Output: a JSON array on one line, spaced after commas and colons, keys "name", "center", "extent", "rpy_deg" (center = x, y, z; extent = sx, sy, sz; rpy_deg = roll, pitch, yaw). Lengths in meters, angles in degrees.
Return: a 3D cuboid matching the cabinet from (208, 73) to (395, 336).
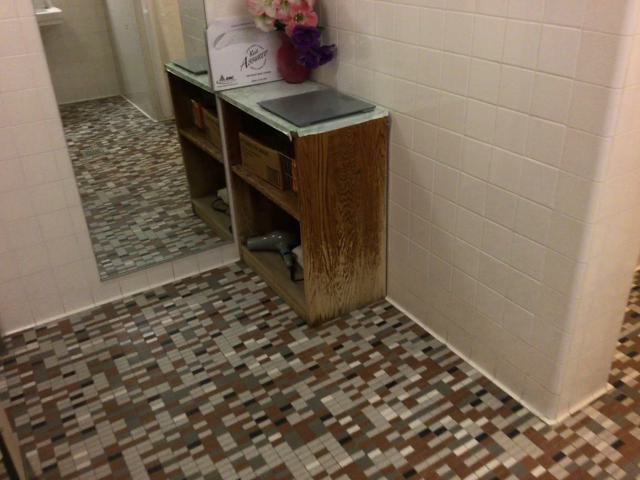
[{"name": "cabinet", "center": [-0.070, -0.170, 2.210], "extent": [0.400, 0.760, 0.630], "rpy_deg": [-19, 32, -26]}]
